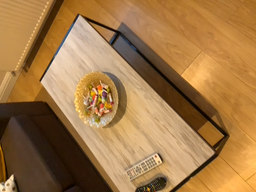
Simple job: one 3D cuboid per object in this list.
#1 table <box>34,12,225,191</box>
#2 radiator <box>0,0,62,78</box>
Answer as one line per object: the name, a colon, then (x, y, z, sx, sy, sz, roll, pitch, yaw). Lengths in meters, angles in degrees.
table: (-0.030, 0.070, 1.290, 0.990, 0.420, 0.550, 48, 113, 20)
radiator: (-0.890, -0.600, 1.570, 0.090, 0.640, 1.130, 47, 113, 20)
